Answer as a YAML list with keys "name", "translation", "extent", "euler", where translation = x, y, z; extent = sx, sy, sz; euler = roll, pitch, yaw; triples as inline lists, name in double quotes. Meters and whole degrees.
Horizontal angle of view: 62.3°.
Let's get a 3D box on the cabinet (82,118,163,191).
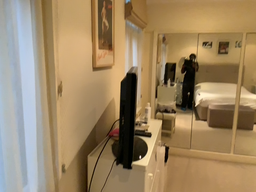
- name: "cabinet"
  translation: [0.030, 0.800, 1.840]
  extent: [0.440, 0.960, 0.970]
  euler: [3, 11, 13]
